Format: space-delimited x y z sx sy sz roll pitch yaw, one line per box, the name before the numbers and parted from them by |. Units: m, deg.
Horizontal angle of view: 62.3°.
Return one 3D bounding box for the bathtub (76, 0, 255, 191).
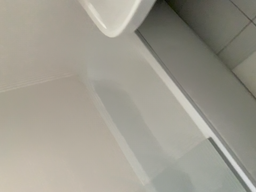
bathtub | 0.390 0.220 1.290 1.670 0.530 0.720 56 140 17
